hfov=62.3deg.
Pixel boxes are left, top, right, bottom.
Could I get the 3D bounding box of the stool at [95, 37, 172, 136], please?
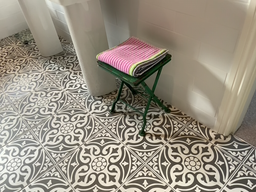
[{"bbox_3d":[0.040,-0.050,1.180,0.260,0.400,0.280,-37,52,-27],"label":"stool"}]
